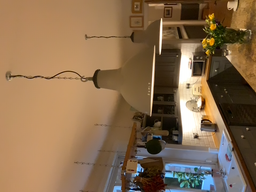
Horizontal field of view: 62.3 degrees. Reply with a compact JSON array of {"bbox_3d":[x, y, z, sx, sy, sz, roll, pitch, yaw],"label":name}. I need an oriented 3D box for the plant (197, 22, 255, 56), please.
[{"bbox_3d":[1.070,-0.640,2.360,0.300,0.500,0.310,-71,-19,-63],"label":"plant"}]
